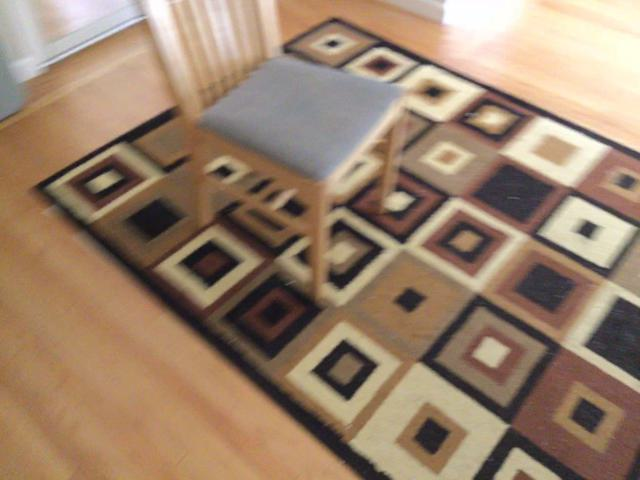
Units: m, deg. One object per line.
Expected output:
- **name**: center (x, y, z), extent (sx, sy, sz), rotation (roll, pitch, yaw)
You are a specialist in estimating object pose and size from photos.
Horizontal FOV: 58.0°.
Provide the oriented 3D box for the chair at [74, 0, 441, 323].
- **chair**: center (-0.120, -0.370, 1.460), extent (0.630, 0.940, 0.500), rotation (27, 56, 23)
